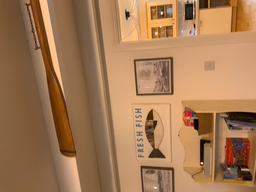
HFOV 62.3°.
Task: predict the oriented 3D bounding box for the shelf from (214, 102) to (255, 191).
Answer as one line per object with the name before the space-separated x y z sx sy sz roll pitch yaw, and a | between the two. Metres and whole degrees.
shelf | 1.380 0.470 1.940 0.230 1.050 0.800 -60 -33 -69
